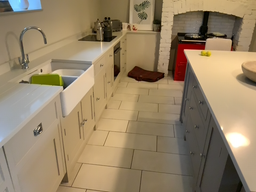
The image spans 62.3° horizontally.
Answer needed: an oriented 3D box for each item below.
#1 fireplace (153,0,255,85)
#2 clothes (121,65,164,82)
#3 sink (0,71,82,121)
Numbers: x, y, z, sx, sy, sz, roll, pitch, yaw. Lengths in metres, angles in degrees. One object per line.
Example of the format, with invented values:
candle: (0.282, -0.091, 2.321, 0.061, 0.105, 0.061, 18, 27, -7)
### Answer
fireplace: (1.460, -1.170, 4.300, 1.730, 1.540, 0.840, 6, 26, 9)
clothes: (0.320, -0.490, 4.510, 0.760, 0.100, 0.560, 11, 27, 20)
sink: (-0.780, -0.020, 1.830, 0.640, 0.250, 0.370, 4, 25, 6)
